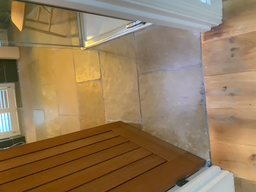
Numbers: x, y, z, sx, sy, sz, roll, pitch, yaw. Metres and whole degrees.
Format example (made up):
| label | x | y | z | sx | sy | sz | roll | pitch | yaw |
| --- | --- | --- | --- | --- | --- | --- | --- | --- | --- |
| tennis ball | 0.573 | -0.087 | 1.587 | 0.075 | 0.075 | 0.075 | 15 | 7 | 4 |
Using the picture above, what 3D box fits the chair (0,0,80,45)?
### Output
| label | x | y | z | sx | sy | sz | roll | pitch | yaw |
| --- | --- | --- | --- | --- | --- | --- | --- | --- | --- |
| chair | -0.950 | -0.820 | 1.990 | 0.410 | 0.800 | 0.490 | 42 | 125 | 35 |
